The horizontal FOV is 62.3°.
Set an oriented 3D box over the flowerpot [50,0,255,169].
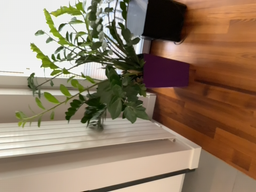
[{"bbox_3d":[0.040,-0.250,1.530,1.030,0.890,0.960,26,111,55],"label":"flowerpot"}]
